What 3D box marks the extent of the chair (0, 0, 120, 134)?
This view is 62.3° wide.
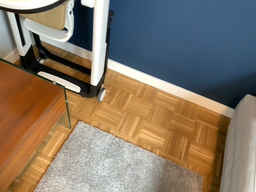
[{"bbox_3d":[-0.400,-0.440,0.930,0.580,1.180,0.570,22,53,5],"label":"chair"}]
